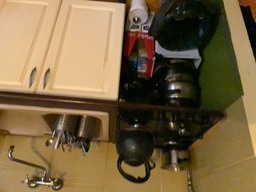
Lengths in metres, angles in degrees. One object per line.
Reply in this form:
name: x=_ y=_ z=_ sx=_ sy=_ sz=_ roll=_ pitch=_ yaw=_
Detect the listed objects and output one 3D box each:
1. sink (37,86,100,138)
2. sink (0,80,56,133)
sink: x=-0.320 y=0.110 z=1.250 sx=0.290 sy=0.150 sz=0.370 roll=6 pitch=153 yaw=-5
sink: x=-0.650 y=0.070 z=1.220 sx=0.370 sy=0.150 sz=0.370 roll=6 pitch=153 yaw=-5
